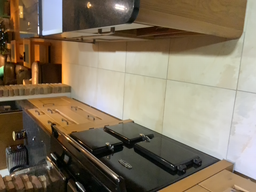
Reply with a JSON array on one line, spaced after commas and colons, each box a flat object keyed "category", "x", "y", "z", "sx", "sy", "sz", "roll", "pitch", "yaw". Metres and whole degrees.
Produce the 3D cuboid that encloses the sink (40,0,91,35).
[{"category": "sink", "x": -0.480, "y": -0.720, "z": 1.560, "sx": 0.540, "sy": 0.170, "sz": 0.490, "roll": 18, "pitch": 109, "yaw": 50}]
